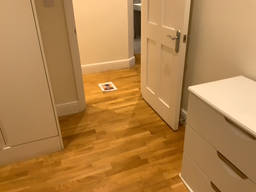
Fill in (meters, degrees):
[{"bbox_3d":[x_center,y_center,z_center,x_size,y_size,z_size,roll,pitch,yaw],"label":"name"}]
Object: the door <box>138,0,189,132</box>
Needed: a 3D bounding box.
[{"bbox_3d":[0.280,-0.710,1.950,0.050,1.970,0.820,-11,28,-18],"label":"door"}]
